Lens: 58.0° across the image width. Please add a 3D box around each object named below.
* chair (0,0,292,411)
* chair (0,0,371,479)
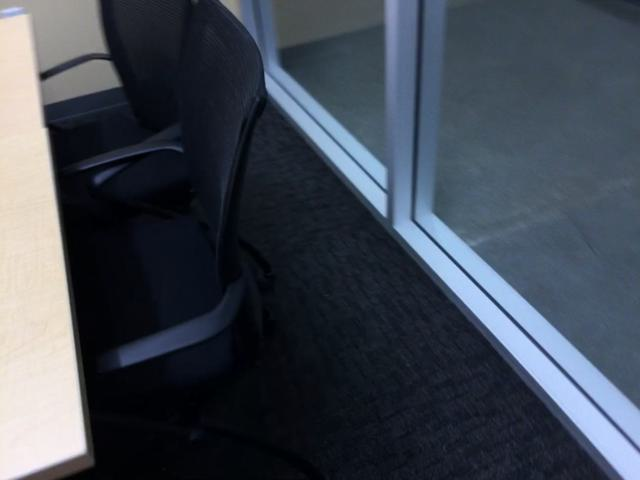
[{"bbox_3d":[-0.550,-0.200,1.490,0.630,0.890,0.650,-23,42,-19],"label":"chair"},{"bbox_3d":[-0.300,0.090,1.120,0.530,0.900,0.590,-23,42,-19],"label":"chair"}]
